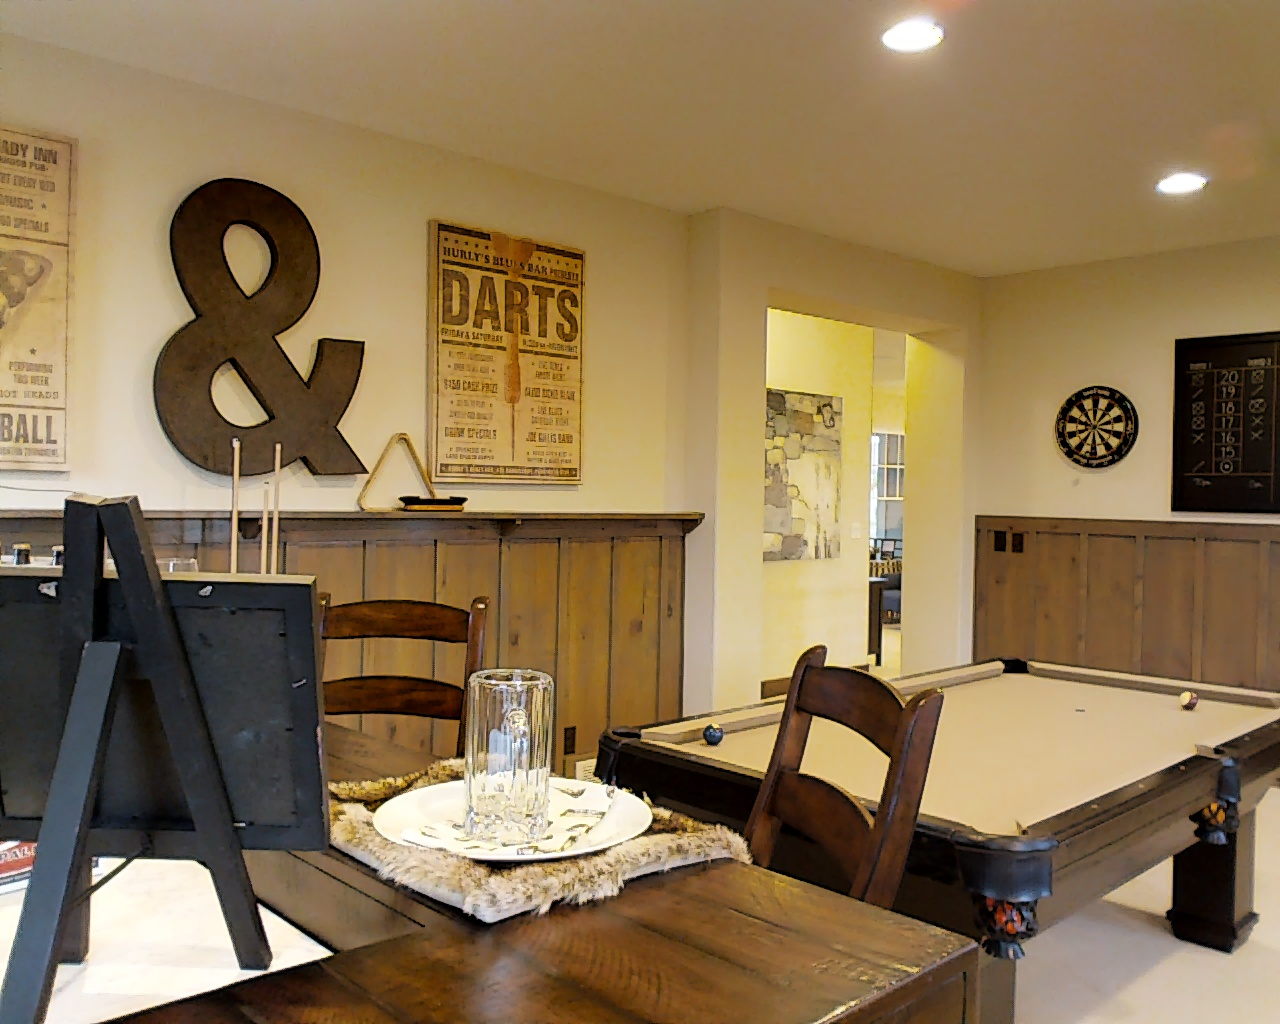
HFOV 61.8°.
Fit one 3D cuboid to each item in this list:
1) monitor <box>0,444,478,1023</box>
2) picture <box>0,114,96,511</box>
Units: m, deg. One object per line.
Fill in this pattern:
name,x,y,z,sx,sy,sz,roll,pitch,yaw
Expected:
monitor,-0.380,0.180,0.910,0.340,0.450,0.340,0,1,-43
picture,-1.940,-0.570,2.980,0.770,1.130,0.040,0,1,-44
